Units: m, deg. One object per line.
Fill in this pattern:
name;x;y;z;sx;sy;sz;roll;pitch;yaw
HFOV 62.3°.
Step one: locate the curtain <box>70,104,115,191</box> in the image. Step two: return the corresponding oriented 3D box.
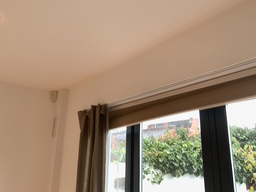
curtain;-0.320;1.140;1.600;0.100;2.130;0.430;16;-22;-41
